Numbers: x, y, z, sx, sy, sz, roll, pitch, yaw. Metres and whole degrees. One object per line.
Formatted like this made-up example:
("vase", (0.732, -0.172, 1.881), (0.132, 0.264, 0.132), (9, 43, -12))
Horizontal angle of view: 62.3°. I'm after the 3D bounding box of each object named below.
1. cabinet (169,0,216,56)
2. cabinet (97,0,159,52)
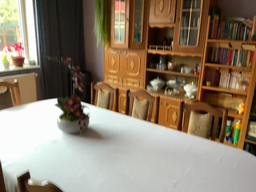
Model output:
("cabinet", (0.870, -1.030, 2.840), (0.420, 0.930, 0.410), (13, 19, 34))
("cabinet", (-0.010, -1.220, 3.400), (0.840, 0.930, 0.500), (13, 19, 34))
